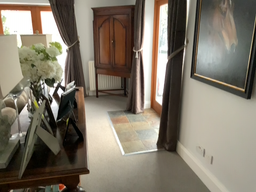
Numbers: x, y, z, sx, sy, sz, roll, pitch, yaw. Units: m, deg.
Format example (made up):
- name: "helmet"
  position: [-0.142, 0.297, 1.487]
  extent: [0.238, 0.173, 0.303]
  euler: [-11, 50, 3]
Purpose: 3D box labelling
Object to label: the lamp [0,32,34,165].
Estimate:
- name: "lamp"
  position: [-0.730, -0.030, 1.100]
  extent: [0.300, 0.580, 0.520]
  euler: [-4, 17, -13]
